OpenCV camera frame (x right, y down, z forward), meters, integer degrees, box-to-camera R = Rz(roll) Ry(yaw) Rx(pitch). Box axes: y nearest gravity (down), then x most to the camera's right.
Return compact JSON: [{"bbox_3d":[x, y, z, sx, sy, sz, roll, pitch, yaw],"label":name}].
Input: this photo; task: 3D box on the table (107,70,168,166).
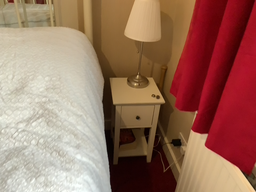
[{"bbox_3d":[0.030,0.150,1.590,0.330,0.540,0.440,-2,32,-10],"label":"table"}]
